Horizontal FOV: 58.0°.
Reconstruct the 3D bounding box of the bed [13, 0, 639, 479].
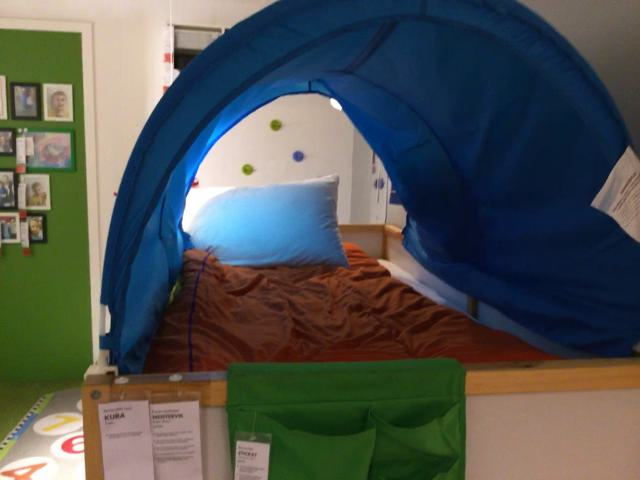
[{"bbox_3d":[0.010,0.360,1.840,1.210,1.860,2.100,5,6,-12],"label":"bed"}]
